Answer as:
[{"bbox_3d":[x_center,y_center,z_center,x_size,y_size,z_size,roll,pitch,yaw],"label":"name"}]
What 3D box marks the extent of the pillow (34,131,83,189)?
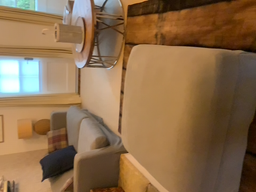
[{"bbox_3d":[-1.060,0.930,3.180,0.300,0.590,0.550,50,169,-27],"label":"pillow"}]
